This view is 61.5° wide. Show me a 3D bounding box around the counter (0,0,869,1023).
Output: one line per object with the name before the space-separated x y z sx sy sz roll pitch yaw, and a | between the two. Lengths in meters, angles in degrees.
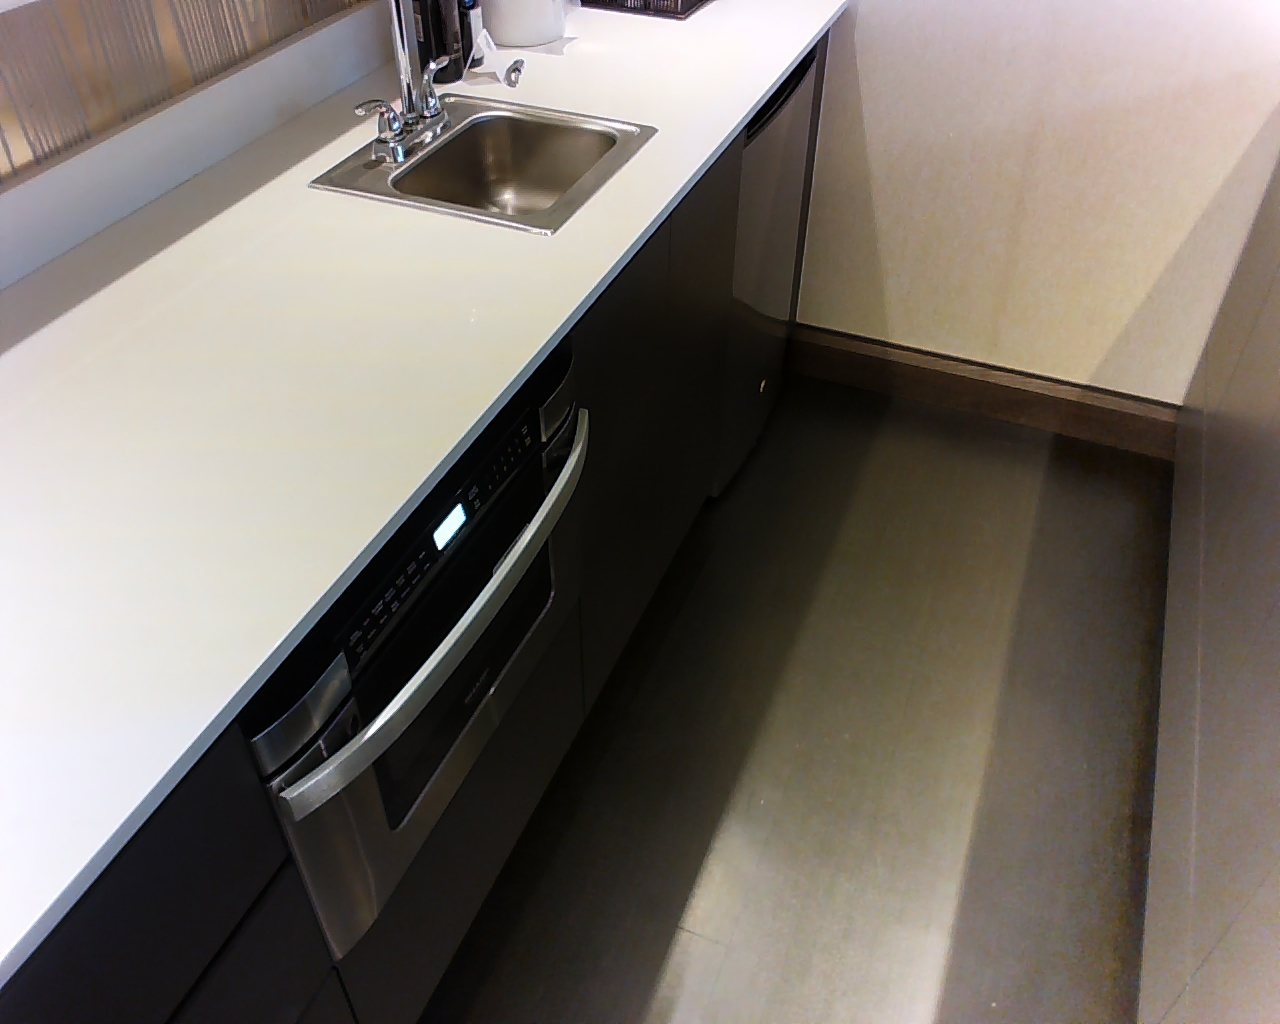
counter | -0.300 -0.410 1.470 0.680 0.040 2.290 16 44 17

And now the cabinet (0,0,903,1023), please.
cabinet | -0.260 -0.010 1.700 0.680 0.910 2.410 16 44 17

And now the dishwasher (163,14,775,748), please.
dishwasher | -0.220 -0.210 1.860 0.690 1.010 0.530 16 44 17
